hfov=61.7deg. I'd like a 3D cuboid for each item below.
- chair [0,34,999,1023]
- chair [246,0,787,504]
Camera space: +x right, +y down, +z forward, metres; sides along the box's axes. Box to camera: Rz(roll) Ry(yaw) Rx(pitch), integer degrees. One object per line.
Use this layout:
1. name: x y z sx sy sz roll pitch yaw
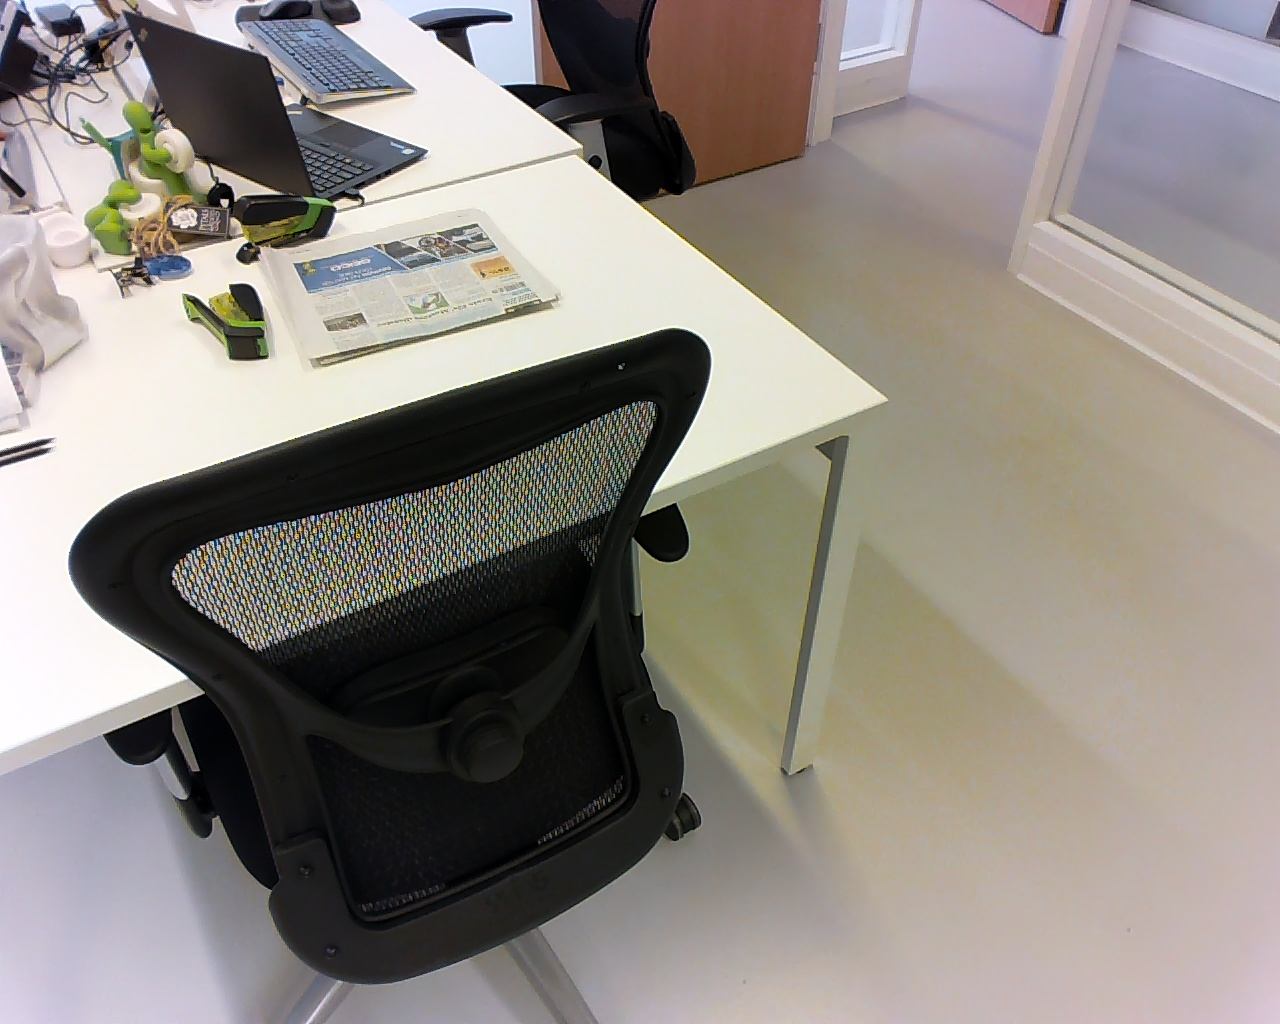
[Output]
1. chair: -0.240 0.150 1.260 0.770 1.030 0.730 -23 47 -23
2. chair: -0.270 -0.780 2.230 0.770 1.090 0.790 -22 47 -22
